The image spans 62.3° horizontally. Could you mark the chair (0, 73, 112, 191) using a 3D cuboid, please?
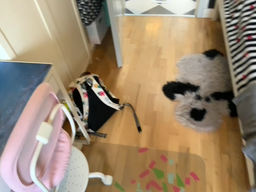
[{"bbox_3d":[-0.450,0.340,1.070,0.520,0.750,0.480,10,53,13],"label":"chair"}]
